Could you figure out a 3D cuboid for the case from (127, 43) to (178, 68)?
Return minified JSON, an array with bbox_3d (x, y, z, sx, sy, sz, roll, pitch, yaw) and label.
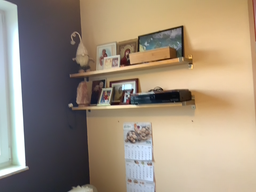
[{"bbox_3d":[0.200,-0.330,1.770,0.410,0.140,0.110,-3,0,28],"label":"case"}]
